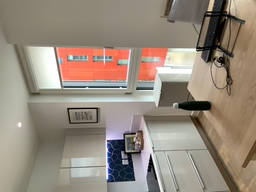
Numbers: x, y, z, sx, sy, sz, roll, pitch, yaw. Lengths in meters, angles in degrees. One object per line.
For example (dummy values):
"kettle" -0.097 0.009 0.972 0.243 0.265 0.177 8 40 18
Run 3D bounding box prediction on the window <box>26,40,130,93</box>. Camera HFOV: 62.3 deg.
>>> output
"window" -0.630 -0.380 2.880 0.200 1.260 0.680 -100 13 -54

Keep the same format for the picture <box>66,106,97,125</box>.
"picture" -0.690 0.300 3.180 0.030 0.430 0.390 -98 11 -45
